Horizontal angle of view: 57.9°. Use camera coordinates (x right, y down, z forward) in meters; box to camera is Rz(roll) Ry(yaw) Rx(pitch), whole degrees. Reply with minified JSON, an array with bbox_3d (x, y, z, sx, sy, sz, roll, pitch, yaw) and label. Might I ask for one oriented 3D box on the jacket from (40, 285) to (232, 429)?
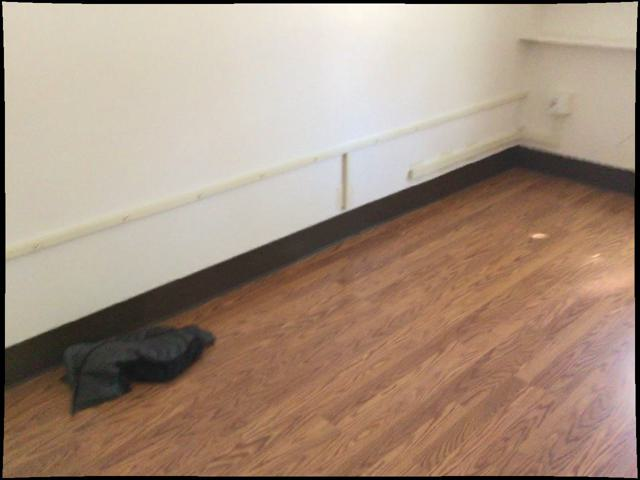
[{"bbox_3d":[-0.619,0.370,1.980,0.510,0.120,0.360,-24,36,-37],"label":"jacket"}]
